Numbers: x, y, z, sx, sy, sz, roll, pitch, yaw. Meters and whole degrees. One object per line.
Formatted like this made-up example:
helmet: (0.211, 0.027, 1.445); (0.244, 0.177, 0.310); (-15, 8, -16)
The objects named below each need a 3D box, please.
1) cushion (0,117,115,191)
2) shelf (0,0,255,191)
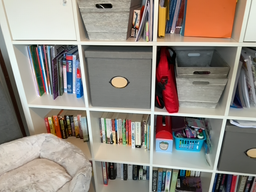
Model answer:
cushion: (-0.450, 0.390, 0.910); (0.490, 0.210, 0.610); (21, 33, 36)
shelf: (0.140, -0.010, 1.260); (1.520, 1.470, 0.430); (4, 27, 8)
